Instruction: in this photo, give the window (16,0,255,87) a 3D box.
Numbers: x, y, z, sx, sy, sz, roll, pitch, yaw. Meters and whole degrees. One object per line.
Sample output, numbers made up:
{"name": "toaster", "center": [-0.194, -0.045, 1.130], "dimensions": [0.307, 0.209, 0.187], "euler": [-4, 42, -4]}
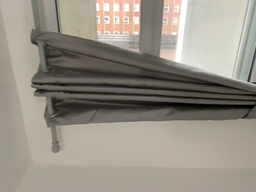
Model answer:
{"name": "window", "center": [0.330, -0.700, 1.150], "dimensions": [0.090, 1.900, 1.340], "euler": [-89, 0, -66]}
